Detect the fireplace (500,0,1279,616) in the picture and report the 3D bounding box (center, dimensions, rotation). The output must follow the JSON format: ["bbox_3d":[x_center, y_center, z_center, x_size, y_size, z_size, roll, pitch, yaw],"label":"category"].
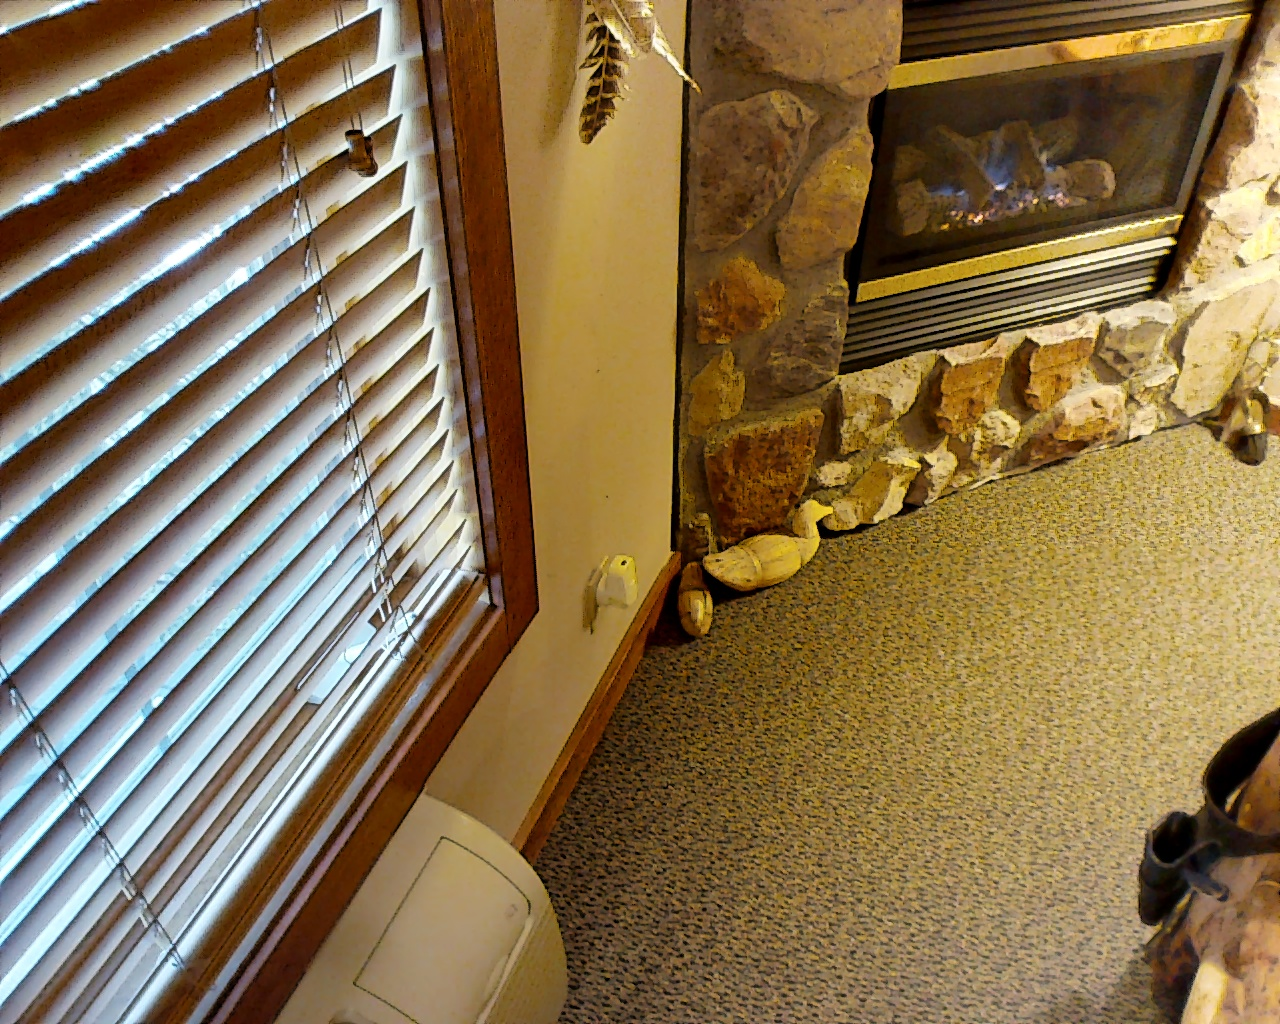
[{"bbox_3d":[0.640,-0.740,2.170,1.660,1.410,0.690,-15,43,-16],"label":"fireplace"}]
